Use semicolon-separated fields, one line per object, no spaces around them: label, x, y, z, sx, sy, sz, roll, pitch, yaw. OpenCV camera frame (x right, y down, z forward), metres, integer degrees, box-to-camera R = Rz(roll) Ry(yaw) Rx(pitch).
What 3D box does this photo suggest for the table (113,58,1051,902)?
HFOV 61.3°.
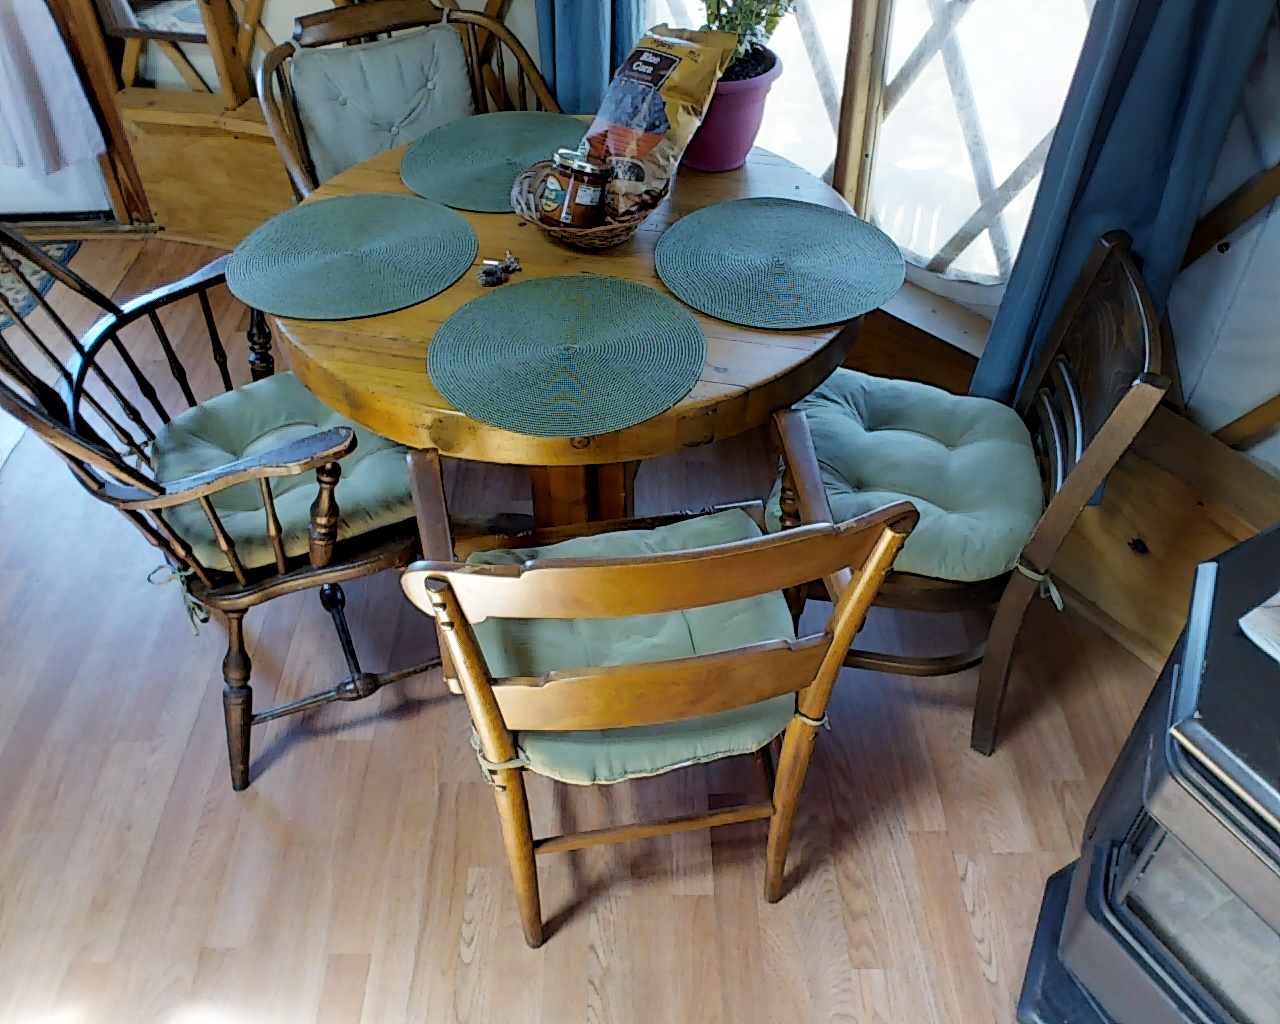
table;-0.080;-0.170;1.930;1.000;0.720;1.070;34;53;31
